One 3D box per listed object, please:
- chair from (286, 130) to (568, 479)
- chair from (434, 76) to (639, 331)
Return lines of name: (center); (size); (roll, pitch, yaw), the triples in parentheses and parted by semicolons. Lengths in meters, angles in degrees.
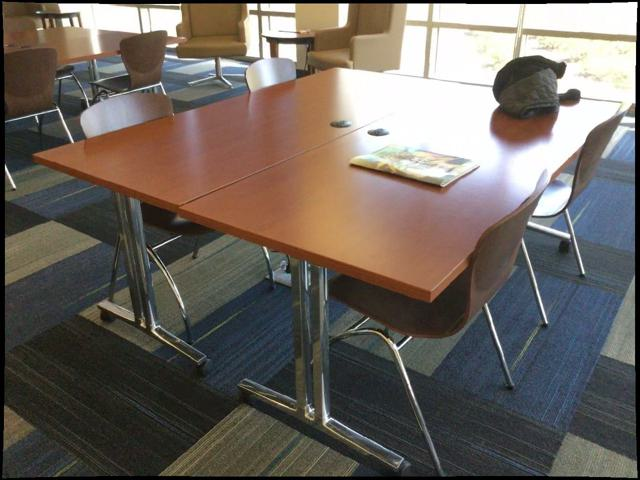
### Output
chair: (0.299, 0.160, 1.730); (0.589, 0.782, 0.490); (18, 34, 32)
chair: (0.918, -0.190, 2.370); (0.649, 0.772, 0.550); (19, 34, 33)
